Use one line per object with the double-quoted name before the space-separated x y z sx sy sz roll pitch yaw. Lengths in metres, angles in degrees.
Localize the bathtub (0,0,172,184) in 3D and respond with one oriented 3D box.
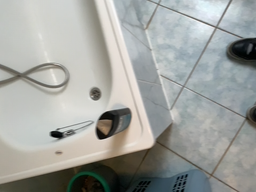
"bathtub" -0.400 -0.580 1.060 0.680 0.550 1.740 -18 85 17
